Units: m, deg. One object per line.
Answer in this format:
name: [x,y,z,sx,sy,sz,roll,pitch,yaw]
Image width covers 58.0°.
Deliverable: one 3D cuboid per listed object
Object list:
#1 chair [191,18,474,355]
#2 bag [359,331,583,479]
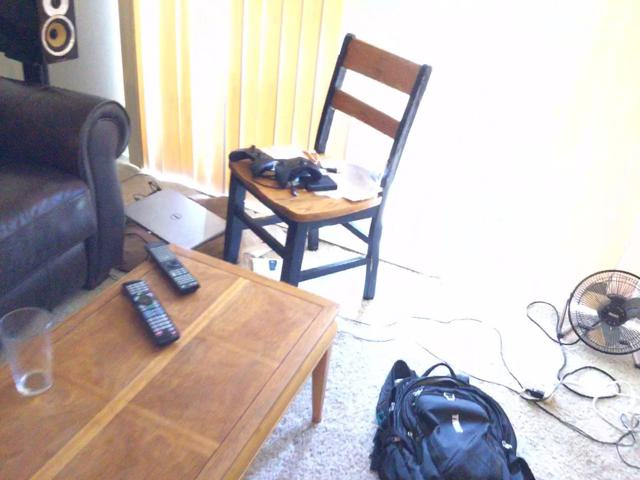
chair: [-0.020,-0.200,1.930,0.590,0.880,0.580,-6,30,-31]
bag: [0.350,0.530,1.470,0.460,0.240,0.550,11,26,1]
